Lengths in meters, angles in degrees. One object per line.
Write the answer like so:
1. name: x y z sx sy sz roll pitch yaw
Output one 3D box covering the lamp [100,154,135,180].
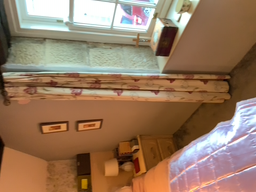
1. lamp: -0.150 0.940 2.810 0.200 0.400 0.250 115 150 -53
